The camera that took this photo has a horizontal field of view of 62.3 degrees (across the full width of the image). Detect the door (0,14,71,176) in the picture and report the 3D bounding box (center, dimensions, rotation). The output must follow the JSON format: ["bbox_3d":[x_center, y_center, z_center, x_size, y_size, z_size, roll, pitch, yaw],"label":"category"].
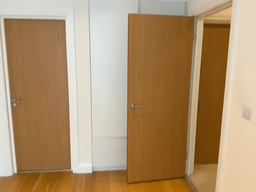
[{"bbox_3d":[-1.130,0.050,2.650,0.730,2.010,0.050,0,10,-5],"label":"door"}]

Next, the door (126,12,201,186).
[{"bbox_3d":[0.390,0.090,2.510,0.810,1.990,0.100,-1,11,-11],"label":"door"}]
